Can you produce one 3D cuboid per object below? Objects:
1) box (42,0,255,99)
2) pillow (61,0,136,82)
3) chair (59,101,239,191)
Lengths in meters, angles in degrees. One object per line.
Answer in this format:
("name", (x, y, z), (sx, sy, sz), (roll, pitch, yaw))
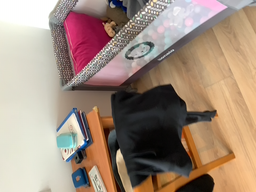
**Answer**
("box", (0.080, -0.600, 1.660), (1.420, 0.900, 0.780), (-31, 68, 43))
("pillow", (-0.210, -0.460, 1.720), (0.240, 0.440, 0.480), (-33, 34, 44))
("chair", (0.160, 0.330, 1.260), (0.480, 0.910, 0.430), (-34, 65, 42))
